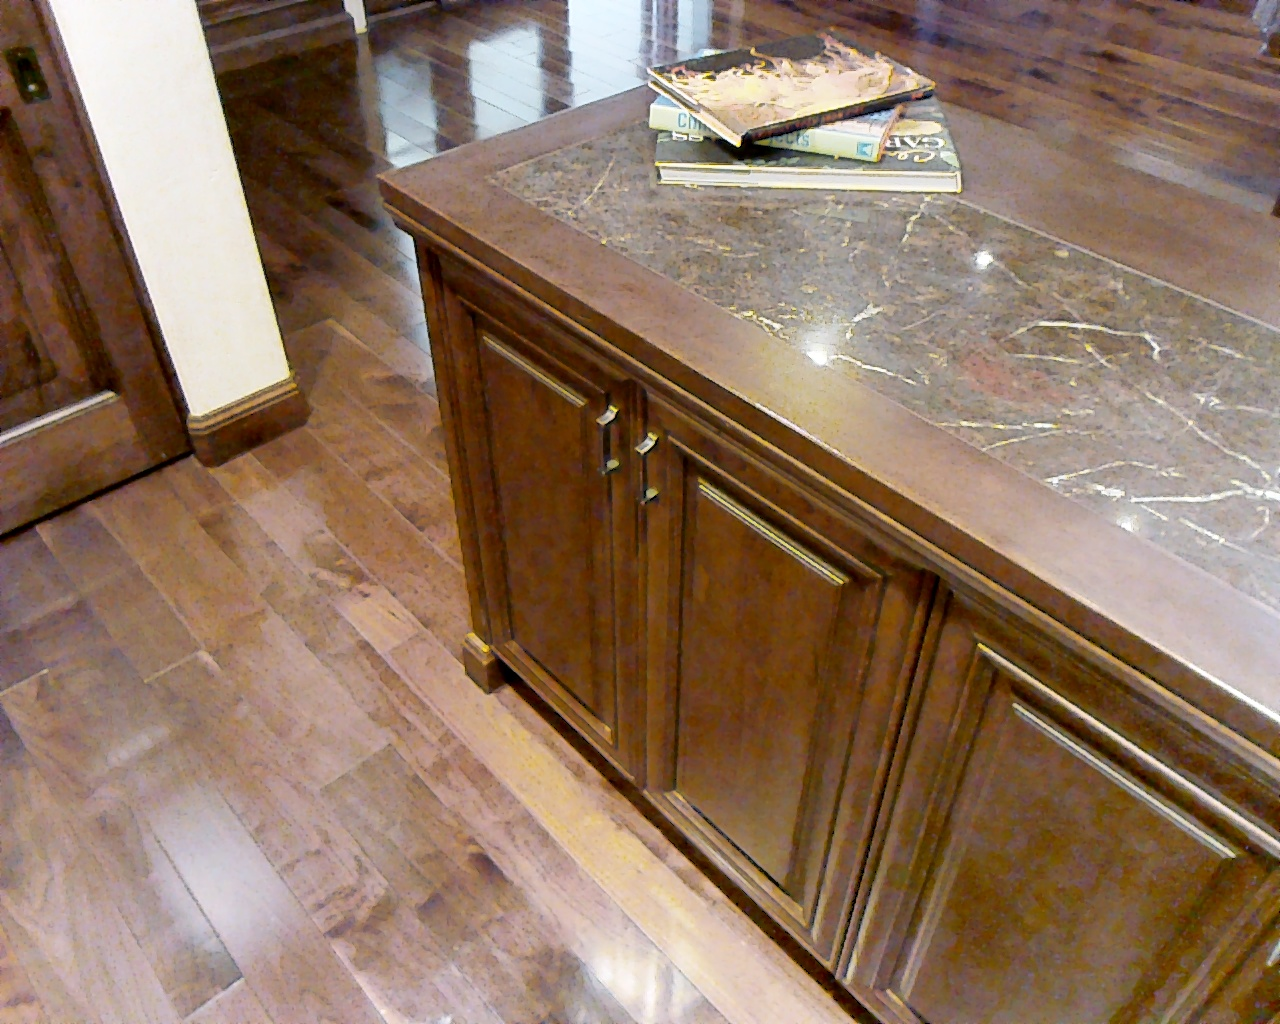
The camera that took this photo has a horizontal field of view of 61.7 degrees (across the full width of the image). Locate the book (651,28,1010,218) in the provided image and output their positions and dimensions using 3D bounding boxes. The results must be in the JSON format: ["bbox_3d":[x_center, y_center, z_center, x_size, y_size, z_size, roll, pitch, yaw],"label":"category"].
[{"bbox_3d":[0.240,-0.550,1.480,0.430,0.090,0.430,2,42,3],"label":"book"}]
